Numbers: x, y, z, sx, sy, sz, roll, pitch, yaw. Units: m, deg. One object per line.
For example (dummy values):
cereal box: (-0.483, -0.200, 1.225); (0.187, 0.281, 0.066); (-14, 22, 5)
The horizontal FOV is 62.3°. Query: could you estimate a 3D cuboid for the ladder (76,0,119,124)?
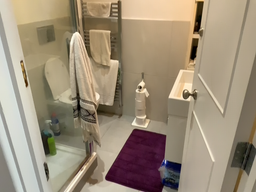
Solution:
ladder: (-0.340, -0.370, 2.540); (0.460, 1.530, 0.070); (10, 28, 18)
